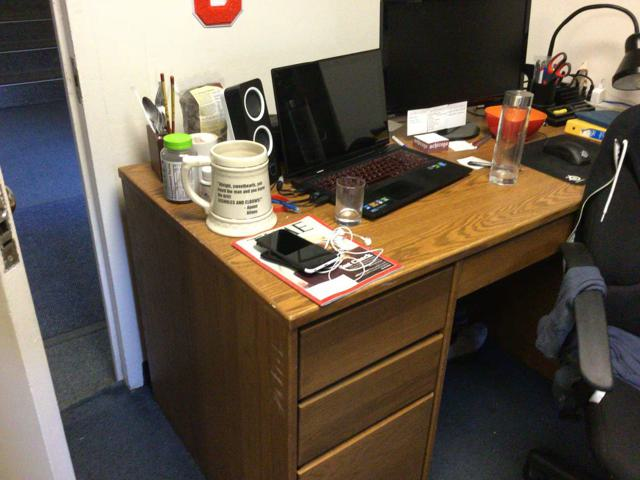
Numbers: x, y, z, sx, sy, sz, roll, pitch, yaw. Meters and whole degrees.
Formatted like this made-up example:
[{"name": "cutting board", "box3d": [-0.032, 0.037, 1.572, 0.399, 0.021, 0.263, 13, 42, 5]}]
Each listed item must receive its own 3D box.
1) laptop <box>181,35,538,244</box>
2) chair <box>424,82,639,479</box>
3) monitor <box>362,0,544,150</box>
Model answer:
[{"name": "laptop", "box3d": [0.090, -0.300, 1.420, 0.670, 0.290, 0.500, -17, 32, -33]}, {"name": "chair", "box3d": [0.810, 0.280, 1.170, 0.750, 1.000, 0.800, -17, 33, -33]}, {"name": "monitor", "box3d": [0.380, -0.500, 1.650, 0.510, 0.370, 0.170, -17, 32, -33]}]
